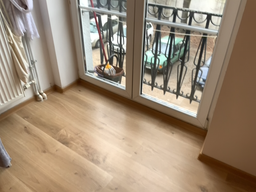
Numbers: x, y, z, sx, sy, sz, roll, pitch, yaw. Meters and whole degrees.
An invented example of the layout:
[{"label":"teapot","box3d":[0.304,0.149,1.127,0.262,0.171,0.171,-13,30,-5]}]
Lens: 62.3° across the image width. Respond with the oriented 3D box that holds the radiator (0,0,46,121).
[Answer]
[{"label":"radiator","box3d":[-1.010,-0.350,1.610,0.210,1.050,0.530,22,39,26]}]
